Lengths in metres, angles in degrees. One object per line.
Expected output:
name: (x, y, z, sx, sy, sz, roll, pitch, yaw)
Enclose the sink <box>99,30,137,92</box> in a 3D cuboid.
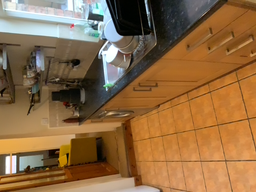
sink: (-0.110, -0.310, 2.000, 0.400, 0.180, 0.440, 147, 120, -61)
